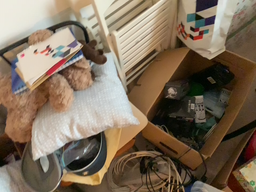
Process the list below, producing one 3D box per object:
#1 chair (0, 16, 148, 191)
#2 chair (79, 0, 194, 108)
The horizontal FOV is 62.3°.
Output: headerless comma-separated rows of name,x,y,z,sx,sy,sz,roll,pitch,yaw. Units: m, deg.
chair,-0.230,0.140,1.040,0.430,0.760,0.490,-37,67,-12
chair,0.100,-0.320,1.200,0.550,0.820,0.160,-41,68,-14
